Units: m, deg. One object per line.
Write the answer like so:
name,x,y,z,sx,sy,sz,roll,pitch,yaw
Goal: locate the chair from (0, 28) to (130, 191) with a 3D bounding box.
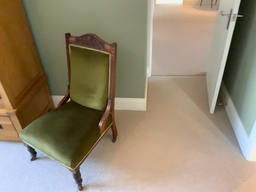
chair,-0.440,0.070,1.680,0.600,0.920,0.730,20,41,27
